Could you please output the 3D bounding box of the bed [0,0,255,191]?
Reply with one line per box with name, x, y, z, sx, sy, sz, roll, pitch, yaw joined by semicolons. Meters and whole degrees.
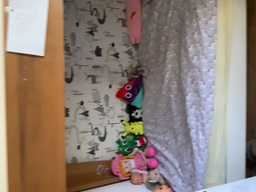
bed;-0.100;-0.300;1.420;1.050;1.670;2.180;-176;86;-65
